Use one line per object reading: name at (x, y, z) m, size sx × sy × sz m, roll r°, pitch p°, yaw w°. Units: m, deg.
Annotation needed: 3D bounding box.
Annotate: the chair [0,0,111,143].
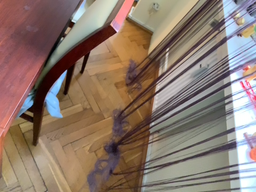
chair at (-0.480, -0.220, 0.890) m, size 0.540 × 0.940 × 0.430 m, roll 27°, pitch 54°, yaw -16°
